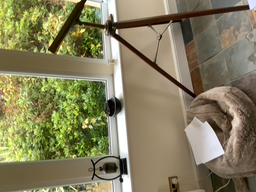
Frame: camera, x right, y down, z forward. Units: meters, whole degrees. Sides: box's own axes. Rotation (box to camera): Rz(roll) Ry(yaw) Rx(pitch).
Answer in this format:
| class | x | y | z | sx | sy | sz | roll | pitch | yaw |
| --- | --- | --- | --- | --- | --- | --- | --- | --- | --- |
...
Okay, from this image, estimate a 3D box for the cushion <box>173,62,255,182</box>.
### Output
| class | x | y | z | sx | sy | sz | roll | pitch | yaw |
| --- | --- | --- | --- | --- | --- | --- | --- | --- | --- |
| cushion | 0.760 | 0.260 | 1.810 | 0.650 | 0.280 | 0.850 | 140 | 129 | -58 |
